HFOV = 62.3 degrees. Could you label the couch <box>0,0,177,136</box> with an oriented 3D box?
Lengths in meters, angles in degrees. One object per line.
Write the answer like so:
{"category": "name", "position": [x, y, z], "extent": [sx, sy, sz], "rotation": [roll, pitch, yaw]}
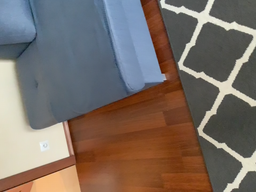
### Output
{"category": "couch", "position": [-0.520, -0.280, 1.390], "extent": [1.210, 0.850, 0.880], "rotation": [-18, 82, 41]}
